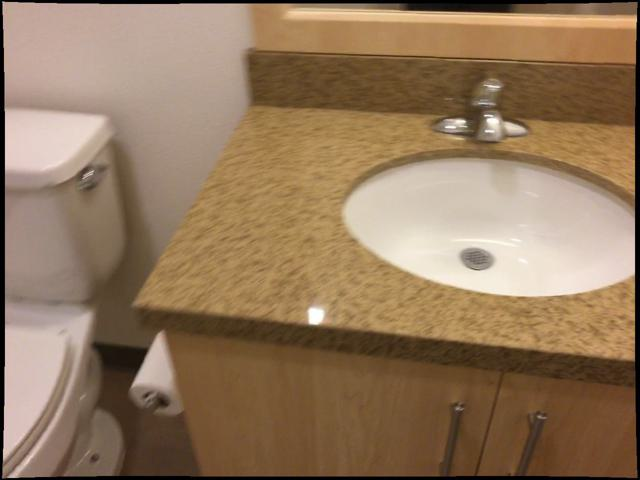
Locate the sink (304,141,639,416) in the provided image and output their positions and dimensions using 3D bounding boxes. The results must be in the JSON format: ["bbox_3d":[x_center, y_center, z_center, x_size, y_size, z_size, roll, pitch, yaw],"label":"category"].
[{"bbox_3d":[0.239,0.030,0.870,0.449,0.180,0.360,5,39,11],"label":"sink"}]
